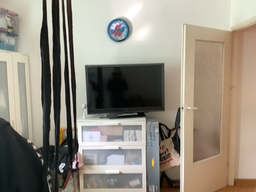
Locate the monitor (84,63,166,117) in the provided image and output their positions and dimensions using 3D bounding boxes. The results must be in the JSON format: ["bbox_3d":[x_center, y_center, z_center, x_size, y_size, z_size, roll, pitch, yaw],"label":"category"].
[{"bbox_3d":[-0.030,-0.070,2.560,0.960,0.630,0.060,-1,6,-3],"label":"monitor"}]

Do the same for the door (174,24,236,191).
[{"bbox_3d":[0.940,0.170,2.560,0.870,1.900,0.150,-5,7,-32],"label":"door"}]
